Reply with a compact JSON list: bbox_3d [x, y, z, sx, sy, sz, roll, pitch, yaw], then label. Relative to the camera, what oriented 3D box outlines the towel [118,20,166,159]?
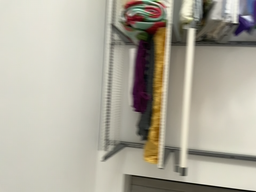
[{"bbox_3d":[0.090,-0.030,1.060,0.380,0.160,0.560,1,-86,-80],"label":"towel"}]
